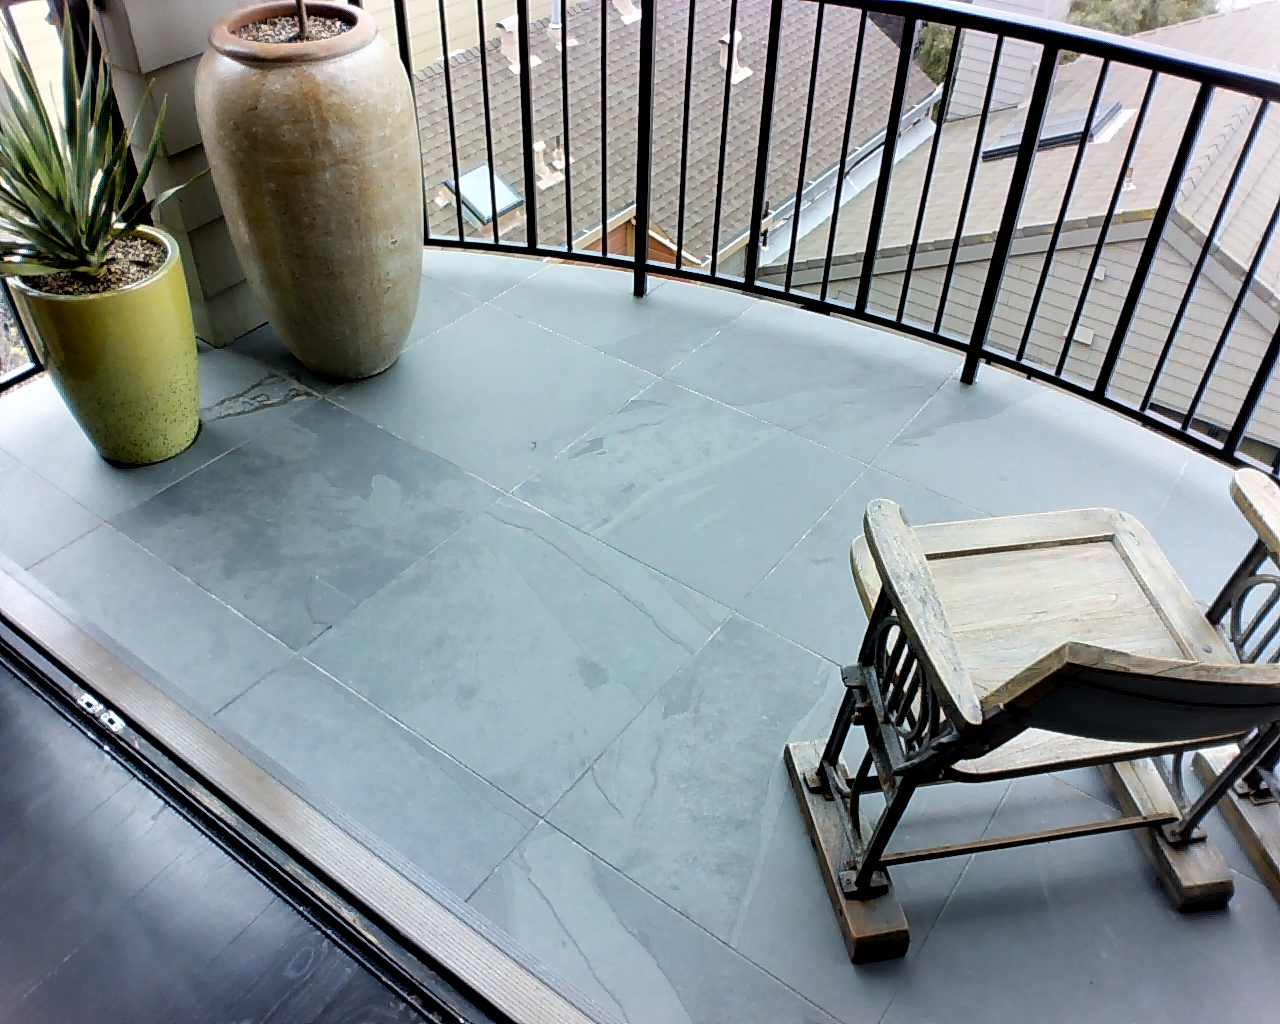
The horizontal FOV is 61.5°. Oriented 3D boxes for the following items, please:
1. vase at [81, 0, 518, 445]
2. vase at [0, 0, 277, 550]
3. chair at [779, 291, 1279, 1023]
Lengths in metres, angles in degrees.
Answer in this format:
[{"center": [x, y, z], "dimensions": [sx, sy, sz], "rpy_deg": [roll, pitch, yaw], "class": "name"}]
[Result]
[{"center": [-0.750, -0.960, 2.440], "dimensions": [0.610, 1.400, 0.590], "rpy_deg": [24, 47, 24], "class": "vase"}, {"center": [-1.230, -0.530, 2.210], "dimensions": [0.480, 0.990, 0.550], "rpy_deg": [24, 47, 24], "class": "vase"}, {"center": [0.650, 0.250, 1.530], "dimensions": [0.650, 0.820, 0.670], "rpy_deg": [-8, 43, -10], "class": "chair"}]
